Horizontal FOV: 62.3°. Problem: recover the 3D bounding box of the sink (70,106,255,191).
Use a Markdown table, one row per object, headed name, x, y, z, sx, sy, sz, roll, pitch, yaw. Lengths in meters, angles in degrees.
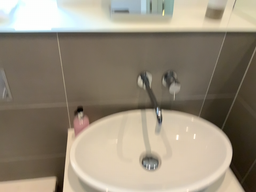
| name | x | y | z | sx | sy | sz | roll | pitch | yaw |
| --- | --- | --- | --- | --- | --- | --- | --- | --- | --- |
| sink | 0.090 | 0.210 | 0.800 | 0.570 | 0.120 | 0.350 | -2 | 36 | -9 |
